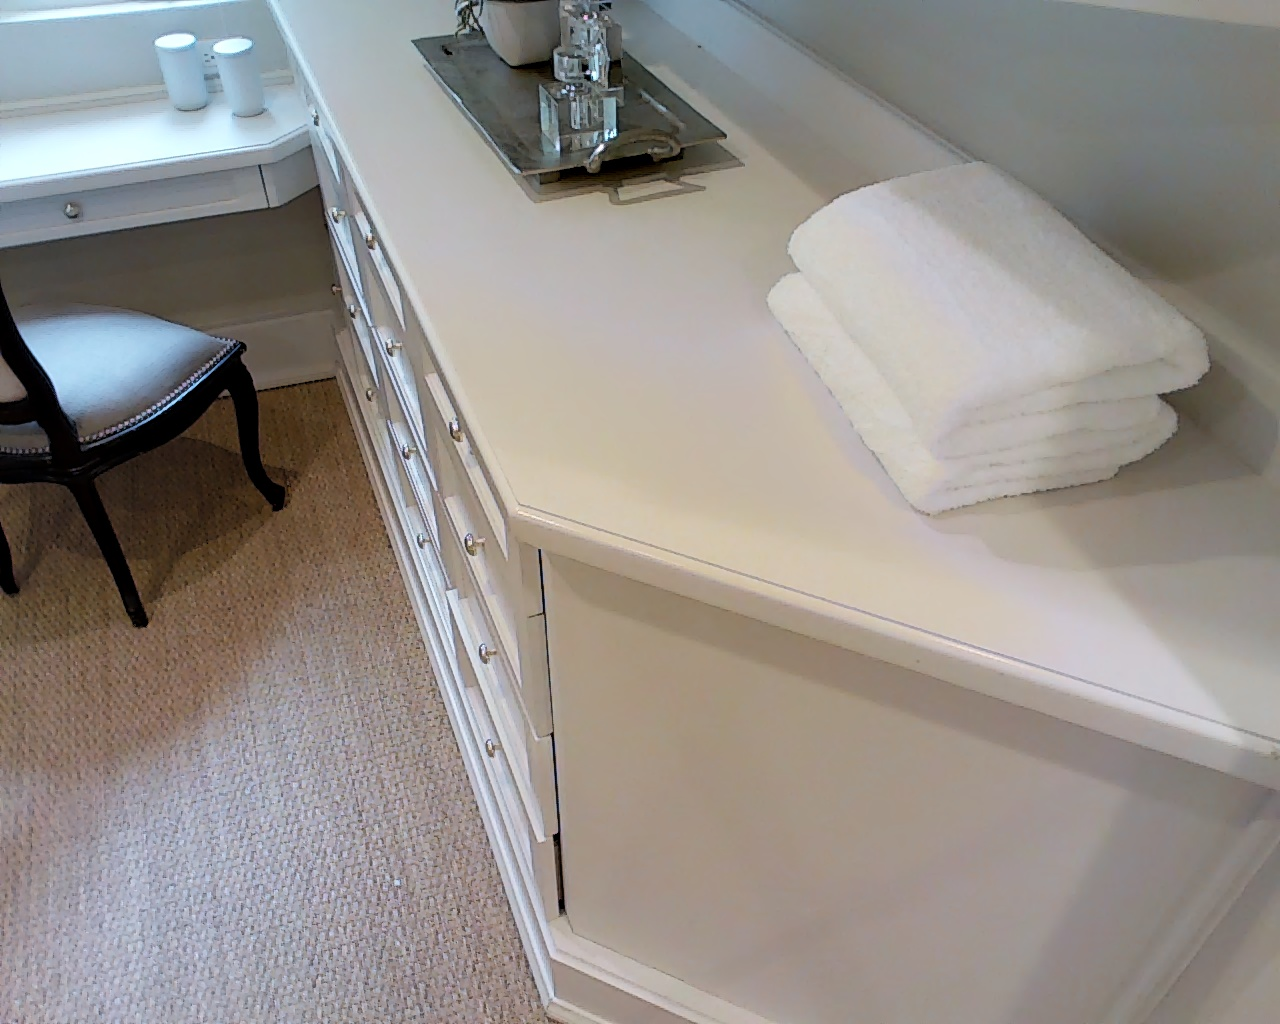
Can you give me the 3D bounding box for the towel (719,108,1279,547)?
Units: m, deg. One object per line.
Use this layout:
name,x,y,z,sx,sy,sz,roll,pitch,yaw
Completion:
towel,0.310,-0.200,1.010,0.330,0.170,0.410,-13,44,-15

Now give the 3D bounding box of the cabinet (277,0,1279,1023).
cabinet,-0.070,-0.100,1.780,0.560,0.970,2.210,-15,44,-16

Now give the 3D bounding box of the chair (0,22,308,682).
chair,-1.070,-0.280,1.970,0.440,0.950,0.610,16,44,17
